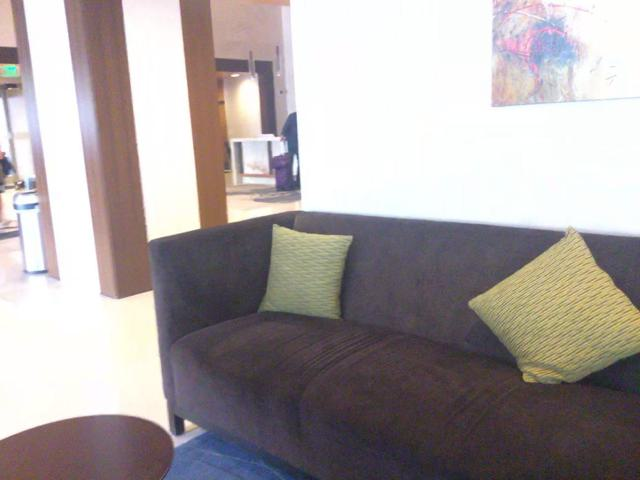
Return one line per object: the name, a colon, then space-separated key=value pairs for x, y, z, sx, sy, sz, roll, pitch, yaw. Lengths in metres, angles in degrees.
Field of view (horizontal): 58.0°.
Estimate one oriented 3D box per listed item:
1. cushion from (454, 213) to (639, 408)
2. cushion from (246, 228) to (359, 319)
cushion: x=0.690 y=0.200 z=1.700 sx=0.230 sy=0.400 sz=0.370 roll=-8 pitch=53 yaw=-40
cushion: x=-0.070 y=0.130 z=2.430 sx=0.410 sy=0.340 sz=0.200 roll=0 pitch=7 yaw=25
